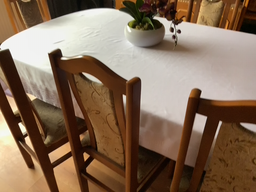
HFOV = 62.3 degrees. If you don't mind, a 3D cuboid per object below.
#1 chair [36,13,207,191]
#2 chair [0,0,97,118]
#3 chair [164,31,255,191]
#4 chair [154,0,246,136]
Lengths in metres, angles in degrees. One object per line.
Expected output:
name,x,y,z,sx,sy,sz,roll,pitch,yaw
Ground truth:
chair,0.000,0.170,1.040,0.410,0.940,0.480,22,42,26
chair,-0.600,-0.360,1.750,0.470,0.950,0.380,18,40,22
chair,0.400,0.300,0.870,0.370,0.940,0.470,18,40,22
chair,0.510,-0.240,1.610,0.370,0.930,0.470,21,41,25
